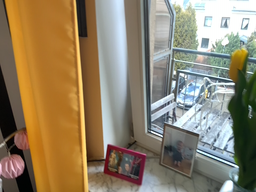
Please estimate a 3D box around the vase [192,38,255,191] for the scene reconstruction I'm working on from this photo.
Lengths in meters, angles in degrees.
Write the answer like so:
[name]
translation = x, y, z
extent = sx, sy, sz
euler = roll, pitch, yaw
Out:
[vase]
translation = 0.390, 0.170, 0.550
extent = 0.330, 0.560, 0.240
euler = 20, 32, 36
